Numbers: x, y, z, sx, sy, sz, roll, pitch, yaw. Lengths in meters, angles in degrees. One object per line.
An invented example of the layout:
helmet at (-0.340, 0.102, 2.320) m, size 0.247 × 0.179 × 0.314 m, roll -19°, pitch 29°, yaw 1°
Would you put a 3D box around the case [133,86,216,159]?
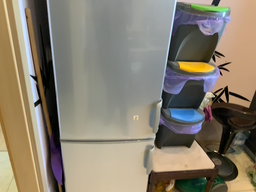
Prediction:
case at (0.300, 0.170, 1.590) m, size 0.420 × 0.310 × 0.470 m, roll -1°, pitch 28°, yaw -11°
